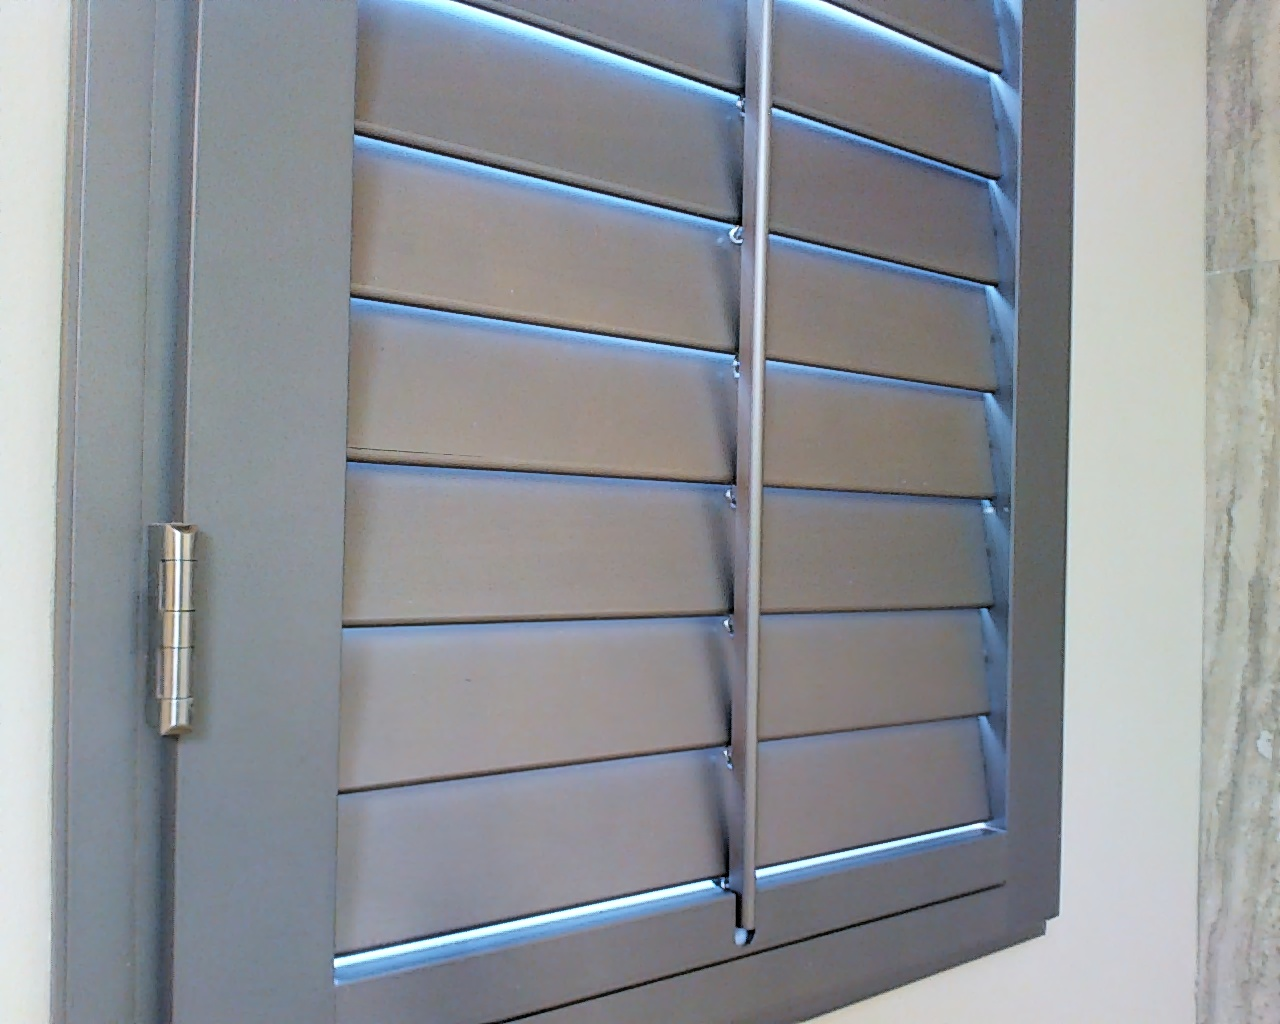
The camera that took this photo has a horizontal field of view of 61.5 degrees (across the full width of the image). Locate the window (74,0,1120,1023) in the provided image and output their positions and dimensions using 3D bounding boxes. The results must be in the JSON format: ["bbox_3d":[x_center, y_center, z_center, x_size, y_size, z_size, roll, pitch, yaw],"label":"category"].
[{"bbox_3d":[0.060,-0.280,0.540,0.580,1.050,0.040,2,-1,-36],"label":"window"}]
